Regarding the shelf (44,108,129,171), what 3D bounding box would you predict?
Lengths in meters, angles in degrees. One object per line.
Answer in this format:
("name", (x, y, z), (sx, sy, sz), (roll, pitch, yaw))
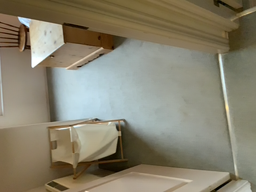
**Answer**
("shelf", (-0.430, 0.420, 2.180), (0.570, 0.600, 0.480), (-15, 81, 48))
